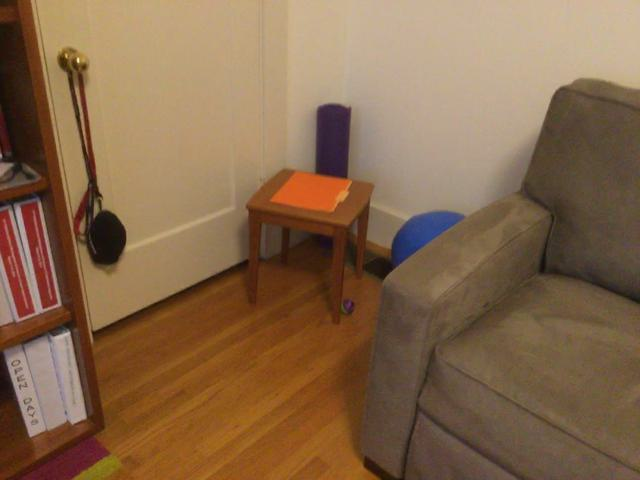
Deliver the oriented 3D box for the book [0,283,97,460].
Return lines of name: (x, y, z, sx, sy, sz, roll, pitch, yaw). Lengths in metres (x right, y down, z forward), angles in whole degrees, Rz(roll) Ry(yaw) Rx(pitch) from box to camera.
book: (-0.750, 0.330, 1.490, 0.310, 0.310, 0.150, 24, 35, 34)

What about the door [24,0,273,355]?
door: (-0.430, -0.650, 1.640, 0.070, 1.980, 0.770, 24, 35, 34)

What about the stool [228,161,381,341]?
stool: (-0.040, 0.020, 2.100, 0.450, 0.440, 0.460, 7, 28, 7)
